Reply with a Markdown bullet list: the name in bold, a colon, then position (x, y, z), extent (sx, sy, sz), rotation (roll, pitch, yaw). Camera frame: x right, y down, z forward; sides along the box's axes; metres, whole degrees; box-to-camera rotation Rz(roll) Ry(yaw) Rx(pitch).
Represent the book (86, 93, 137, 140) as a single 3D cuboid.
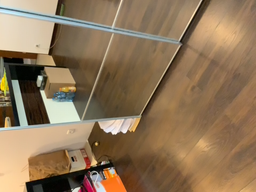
- **book**: position (-0.180, 0.190, 2.170), extent (0.420, 0.310, 0.250), rotation (52, 129, 39)
